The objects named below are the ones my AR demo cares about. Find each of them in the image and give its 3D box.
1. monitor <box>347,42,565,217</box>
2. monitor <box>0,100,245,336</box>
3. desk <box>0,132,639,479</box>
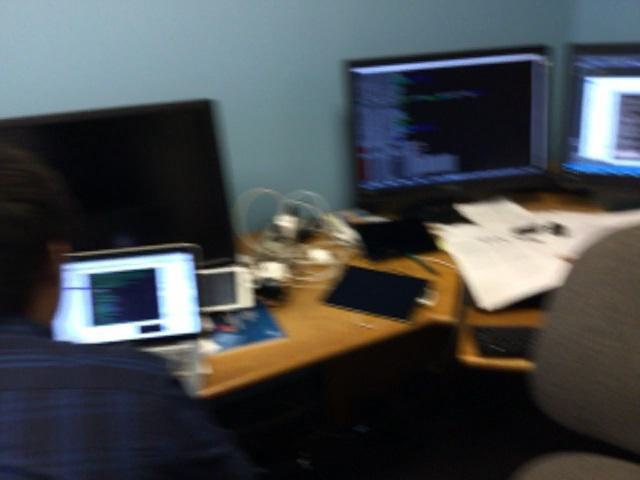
[{"bbox_3d":[0.420,-0.360,1.870,0.630,0.490,0.180,-5,22,-5],"label":"monitor"},{"bbox_3d":[-0.560,-0.070,1.430,0.680,0.450,0.180,-13,24,-24],"label":"monitor"},{"bbox_3d":[0.290,0.410,1.520,2.590,0.830,1.400,-13,24,-24],"label":"desk"}]
